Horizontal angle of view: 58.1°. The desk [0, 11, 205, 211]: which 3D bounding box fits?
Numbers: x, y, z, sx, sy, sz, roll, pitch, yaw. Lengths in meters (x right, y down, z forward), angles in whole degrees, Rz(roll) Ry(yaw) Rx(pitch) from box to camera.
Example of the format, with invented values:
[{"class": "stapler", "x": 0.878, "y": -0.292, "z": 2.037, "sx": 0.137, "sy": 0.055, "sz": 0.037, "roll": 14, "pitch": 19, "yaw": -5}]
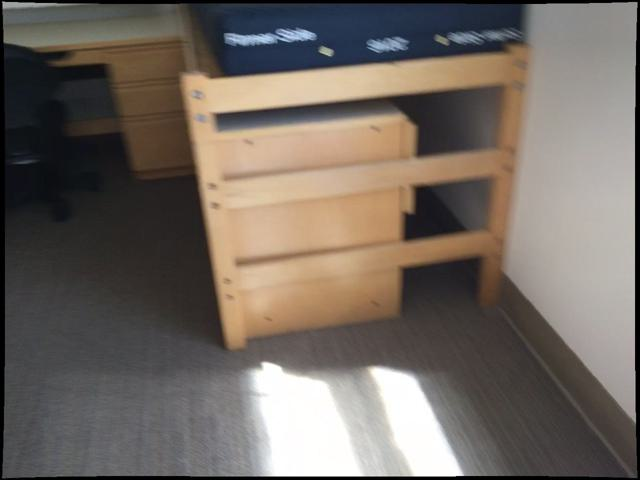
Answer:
[{"class": "desk", "x": -1.337, "y": -0.742, "z": 3.200, "sx": 1.207, "sy": 0.761, "sz": 0.720, "roll": -11, "pitch": 32, "yaw": -10}]
